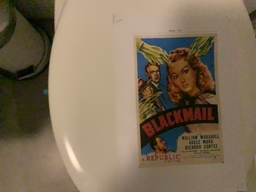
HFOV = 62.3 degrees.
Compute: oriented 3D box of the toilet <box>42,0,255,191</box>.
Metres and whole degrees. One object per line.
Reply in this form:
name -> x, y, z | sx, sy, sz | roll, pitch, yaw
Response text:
toilet -> 0.060, -0.050, 0.560 | 0.410, 0.440, 0.550 | -5, 88, -5
